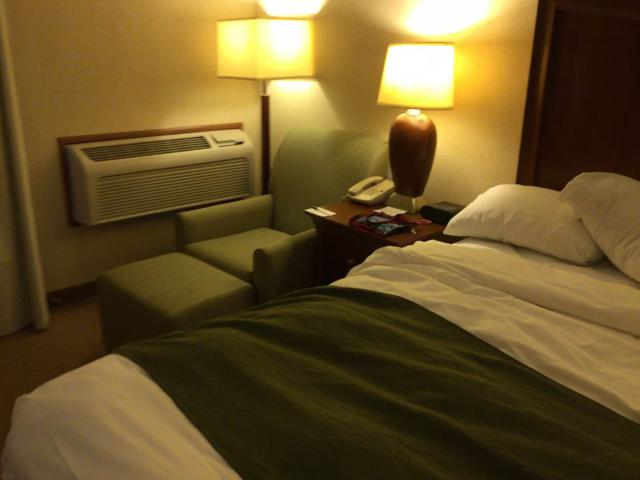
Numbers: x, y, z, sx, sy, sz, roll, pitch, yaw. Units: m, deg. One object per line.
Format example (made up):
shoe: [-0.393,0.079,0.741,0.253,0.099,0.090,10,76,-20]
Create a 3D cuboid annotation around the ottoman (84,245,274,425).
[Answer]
ottoman: [-0.610,0.360,2.500,0.530,0.420,0.640,-15,26,-41]
